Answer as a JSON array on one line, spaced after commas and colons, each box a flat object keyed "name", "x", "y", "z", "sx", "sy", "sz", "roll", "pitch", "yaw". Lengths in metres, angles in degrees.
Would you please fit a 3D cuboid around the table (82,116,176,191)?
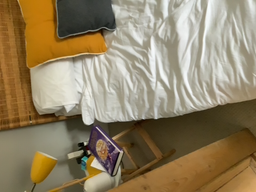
[{"name": "table", "x": 0.010, "y": 0.340, "z": 1.370, "sx": 0.340, "sy": 0.460, "sz": 0.340, "roll": -10, "pitch": 87, "yaw": 48}]

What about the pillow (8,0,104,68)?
[{"name": "pillow", "x": -0.360, "y": -0.400, "z": 1.140, "sx": 0.160, "sy": 0.400, "sz": 0.390, "roll": 147, "pitch": 132, "yaw": -71}]

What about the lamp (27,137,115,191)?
[{"name": "lamp", "x": -0.290, "y": 0.400, "z": 1.110, "sx": 0.220, "sy": 0.350, "sz": 0.290, "roll": -10, "pitch": 87, "yaw": 48}]
